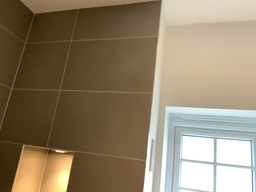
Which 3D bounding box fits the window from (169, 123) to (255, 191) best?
[{"bbox_3d":[0.500,0.530,1.190,0.520,0.720,0.060,1,-17,21],"label":"window"}]
